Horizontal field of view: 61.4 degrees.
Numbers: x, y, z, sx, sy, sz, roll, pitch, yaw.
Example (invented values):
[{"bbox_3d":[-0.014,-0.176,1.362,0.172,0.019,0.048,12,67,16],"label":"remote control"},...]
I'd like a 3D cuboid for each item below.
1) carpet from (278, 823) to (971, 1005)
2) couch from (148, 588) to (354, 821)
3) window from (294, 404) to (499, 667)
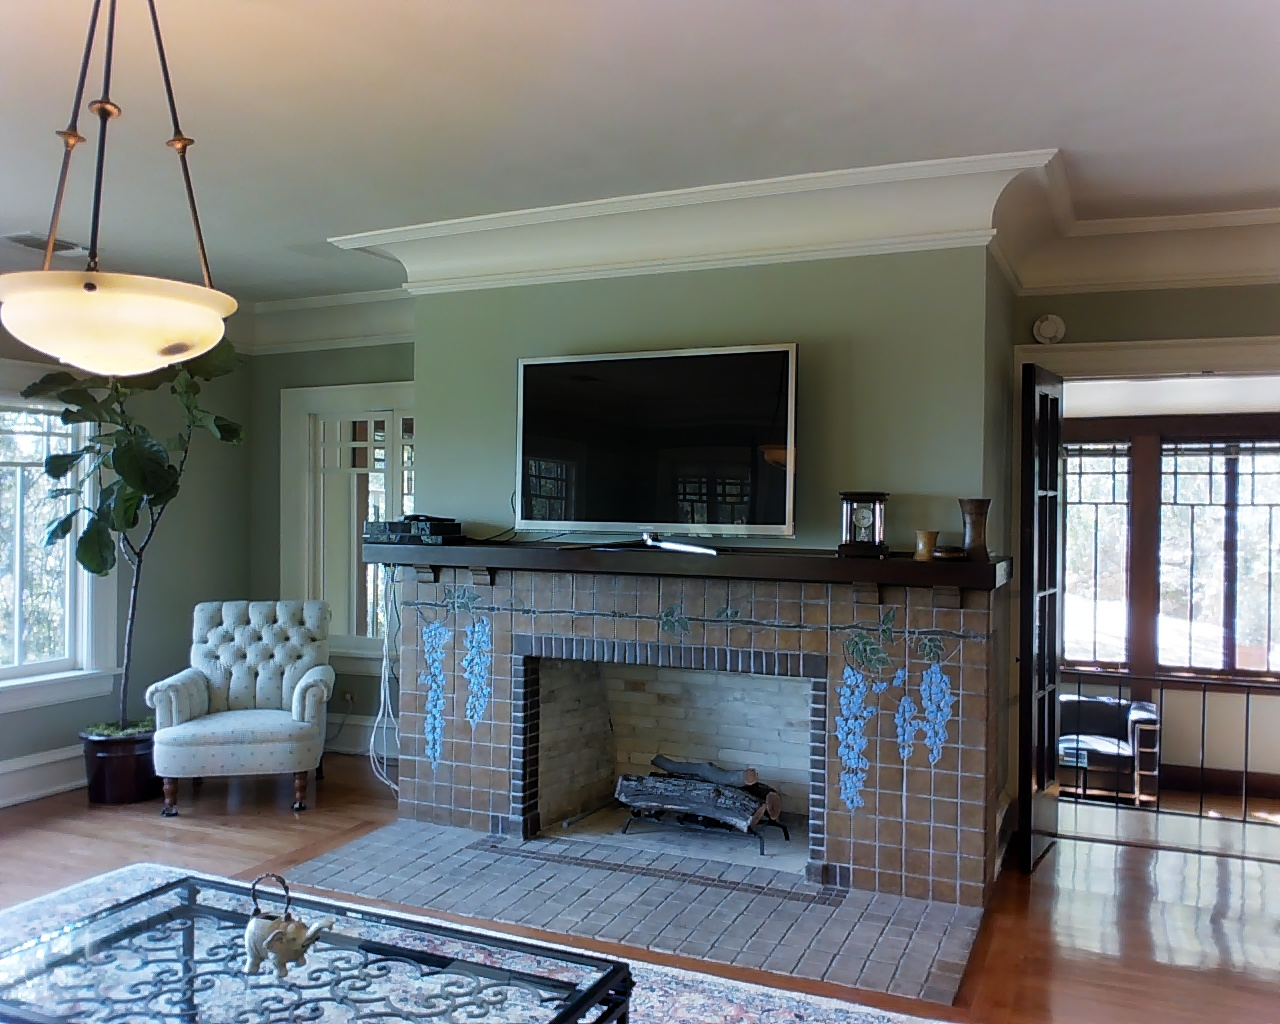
[{"bbox_3d":[-0.130,1.480,4.160,2.630,0.040,0.690,1,1,24],"label":"carpet"},{"bbox_3d":[-2.030,0.970,5.780,0.910,1.030,1.030,0,0,-13],"label":"couch"},{"bbox_3d":[-1.510,0.130,6.610,1.340,1.520,0.240,1,1,24],"label":"window"}]
